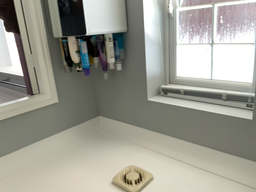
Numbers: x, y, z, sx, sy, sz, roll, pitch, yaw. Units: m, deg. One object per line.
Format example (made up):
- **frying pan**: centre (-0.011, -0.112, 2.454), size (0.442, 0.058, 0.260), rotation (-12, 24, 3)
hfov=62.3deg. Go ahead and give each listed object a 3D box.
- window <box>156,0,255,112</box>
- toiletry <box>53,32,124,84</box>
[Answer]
- **window**: centre (0.430, -0.470, 1.150), size (0.560, 1.030, 0.140), rotation (11, -158, 38)
- **toiletry**: centre (-0.240, -0.250, 1.320), size (0.280, 0.260, 0.300), rotation (12, -156, 42)
